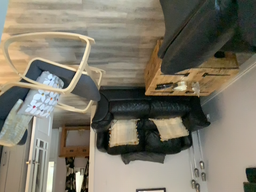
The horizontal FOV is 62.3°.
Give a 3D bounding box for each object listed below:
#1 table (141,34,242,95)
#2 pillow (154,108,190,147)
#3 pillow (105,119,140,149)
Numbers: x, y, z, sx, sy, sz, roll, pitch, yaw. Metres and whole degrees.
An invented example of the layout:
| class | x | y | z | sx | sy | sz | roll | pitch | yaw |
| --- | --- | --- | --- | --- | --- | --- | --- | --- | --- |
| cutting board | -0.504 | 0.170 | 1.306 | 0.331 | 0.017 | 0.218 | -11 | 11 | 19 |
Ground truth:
| class | x | y | z | sx | sy | sz | roll | pitch | yaw |
| --- | --- | --- | --- | --- | --- | --- | --- | --- | --- |
| table | 0.620 | -0.300 | 2.340 | 0.810 | 0.350 | 0.730 | 1 | 160 | -7 |
| pillow | 0.700 | 0.510 | 3.410 | 0.520 | 0.530 | 0.260 | -4 | -154 | 5 |
| pillow | -0.090 | 0.600 | 3.420 | 0.520 | 0.430 | 0.260 | -3 | 173 | -3 |
